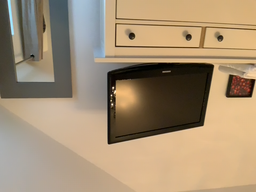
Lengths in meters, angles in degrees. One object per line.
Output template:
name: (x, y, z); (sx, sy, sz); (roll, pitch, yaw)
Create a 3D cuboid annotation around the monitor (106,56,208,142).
monitor: (0.210, 0.010, 1.480); (0.740, 0.550, 0.030); (-6, -158, -22)
